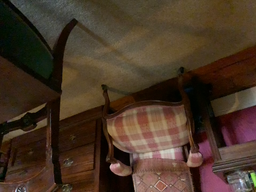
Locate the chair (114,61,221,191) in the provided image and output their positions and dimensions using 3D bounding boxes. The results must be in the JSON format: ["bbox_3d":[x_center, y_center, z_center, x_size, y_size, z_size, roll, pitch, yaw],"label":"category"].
[{"bbox_3d":[0.210,0.450,1.530,0.510,1.130,0.760,-5,146,1],"label":"chair"}]

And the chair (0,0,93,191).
[{"bbox_3d":[-0.510,-0.110,0.790,0.500,0.890,0.520,-21,143,24],"label":"chair"}]
